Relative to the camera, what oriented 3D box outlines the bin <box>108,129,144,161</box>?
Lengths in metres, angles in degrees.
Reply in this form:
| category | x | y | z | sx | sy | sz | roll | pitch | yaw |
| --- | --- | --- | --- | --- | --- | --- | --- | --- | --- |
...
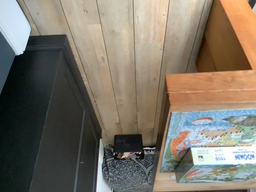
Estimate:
| category | x | y | z | sx | sy | sz | roll | pitch | yaw |
| --- | --- | --- | --- | --- | --- | --- | --- | --- | --- |
| bin | -0.010 | 0.590 | 2.510 | 0.390 | 0.240 | 0.360 | -3 | 147 | 2 |
